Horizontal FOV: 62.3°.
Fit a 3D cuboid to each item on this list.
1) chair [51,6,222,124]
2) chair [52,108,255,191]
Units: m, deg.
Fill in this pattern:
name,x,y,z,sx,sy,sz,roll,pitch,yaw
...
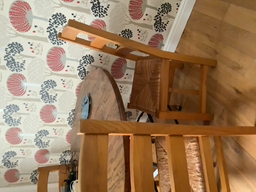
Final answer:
name,x,y,z,sx,sy,sz,roll,pitch,yaw
chair,0.060,-0.140,1.470,0.480,1.030,0.560,12,97,64
chair,0.200,0.370,1.090,0.580,1.040,0.450,-32,58,59
